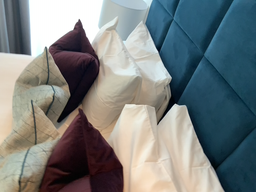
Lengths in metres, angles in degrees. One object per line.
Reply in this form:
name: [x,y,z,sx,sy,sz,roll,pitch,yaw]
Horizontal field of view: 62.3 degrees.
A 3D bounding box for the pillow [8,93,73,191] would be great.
pillow: [-0.360,0.240,0.880,0.170,0.350,0.350,10,53,-22]
